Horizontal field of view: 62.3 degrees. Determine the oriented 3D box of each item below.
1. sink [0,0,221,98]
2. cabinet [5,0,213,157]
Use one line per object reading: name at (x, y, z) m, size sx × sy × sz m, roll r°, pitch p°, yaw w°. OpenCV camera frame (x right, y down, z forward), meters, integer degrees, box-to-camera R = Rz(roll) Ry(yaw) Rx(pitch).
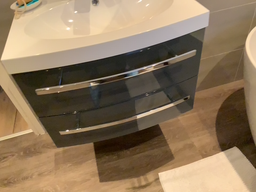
sink at (-0.100, -0.280, 0.780) m, size 0.640 × 0.110 × 0.490 m, roll -15°, pitch 46°, yaw -6°
cabinet at (-0.080, -0.130, 0.930) m, size 0.630 × 0.400 × 0.480 m, roll -15°, pitch 46°, yaw -6°
